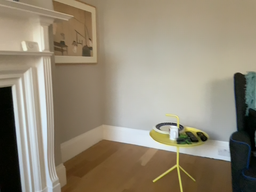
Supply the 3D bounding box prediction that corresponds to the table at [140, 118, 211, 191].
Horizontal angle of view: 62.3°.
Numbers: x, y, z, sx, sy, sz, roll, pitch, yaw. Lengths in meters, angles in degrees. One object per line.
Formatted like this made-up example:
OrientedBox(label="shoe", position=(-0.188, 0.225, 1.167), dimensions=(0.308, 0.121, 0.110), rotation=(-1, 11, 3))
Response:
OrientedBox(label="table", position=(0.450, 0.520, 1.950), dimensions=(0.530, 0.470, 0.510), rotation=(4, 10, 25))
